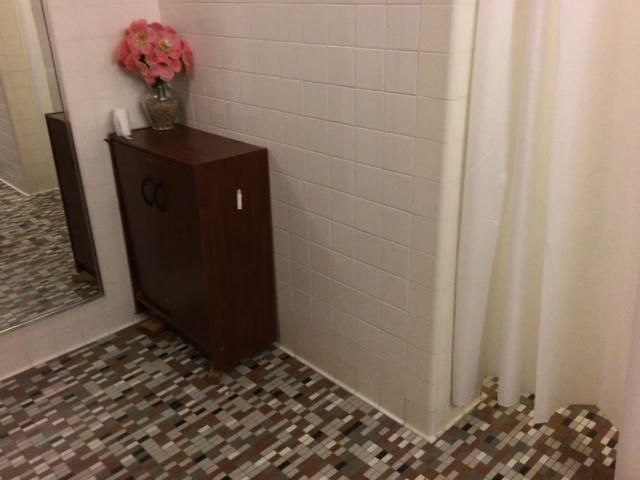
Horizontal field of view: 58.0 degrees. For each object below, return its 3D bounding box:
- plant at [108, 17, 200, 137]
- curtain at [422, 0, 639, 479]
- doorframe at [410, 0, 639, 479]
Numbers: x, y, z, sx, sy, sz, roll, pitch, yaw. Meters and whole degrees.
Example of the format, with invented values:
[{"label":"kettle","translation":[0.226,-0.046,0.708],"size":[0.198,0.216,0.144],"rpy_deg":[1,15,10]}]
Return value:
[{"label":"plant","translation":[-0.620,-0.620,2.180],"size":[0.220,0.400,0.190],"rpy_deg":[-23,31,-40]},{"label":"curtain","translation":[0.680,-0.070,1.490],"size":[0.450,1.500,0.600],"rpy_deg":[-23,31,-40]},{"label":"doorframe","translation":[0.630,0.060,1.330],"size":[0.180,1.470,0.840],"rpy_deg":[-23,31,-40]}]
